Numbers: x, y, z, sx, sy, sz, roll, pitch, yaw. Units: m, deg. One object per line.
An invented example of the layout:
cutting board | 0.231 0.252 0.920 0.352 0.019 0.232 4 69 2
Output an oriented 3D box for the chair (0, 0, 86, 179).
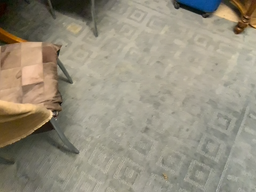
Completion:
chair | -0.530 -0.020 0.900 0.460 0.990 0.580 -10 67 -4
